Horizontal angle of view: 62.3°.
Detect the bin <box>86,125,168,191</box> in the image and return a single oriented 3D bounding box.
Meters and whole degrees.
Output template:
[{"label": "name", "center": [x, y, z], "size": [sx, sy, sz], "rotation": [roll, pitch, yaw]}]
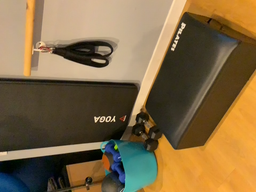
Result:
[{"label": "bin", "center": [-0.040, 0.570, 1.770], "size": [0.490, 0.440, 0.380], "rotation": [59, 139, 42]}]
